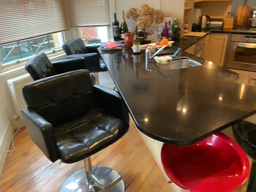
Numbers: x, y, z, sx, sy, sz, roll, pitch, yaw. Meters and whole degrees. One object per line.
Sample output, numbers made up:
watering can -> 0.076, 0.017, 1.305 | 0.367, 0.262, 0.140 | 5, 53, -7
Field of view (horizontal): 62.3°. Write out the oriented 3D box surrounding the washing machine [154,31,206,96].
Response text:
washing machine -> 0.850, -0.570, 3.510 | 0.600, 0.870, 0.590 | 15, 30, 31

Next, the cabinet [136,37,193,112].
cabinet -> 0.520, -0.340, 3.080 | 0.590, 0.870, 0.580 | 15, 30, 31

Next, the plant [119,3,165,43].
plant -> 0.200, -1.050, 2.990 | 0.450, 0.470, 0.450 | 17, 31, 34
